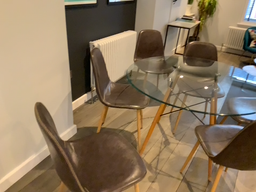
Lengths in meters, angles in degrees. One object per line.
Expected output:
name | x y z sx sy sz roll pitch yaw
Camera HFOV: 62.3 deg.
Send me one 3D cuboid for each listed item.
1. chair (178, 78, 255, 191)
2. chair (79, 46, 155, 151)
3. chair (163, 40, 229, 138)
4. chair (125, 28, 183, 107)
chair | 0.660 0.360 1.340 0.390 0.790 0.540 1 28 -7
chair | -0.110 0.030 1.850 0.530 0.800 0.410 2 28 -5
chair | 0.670 -0.090 2.170 0.420 0.810 0.490 12 29 14
chair | 0.270 -0.360 2.630 0.480 0.820 0.500 -2 29 -13
